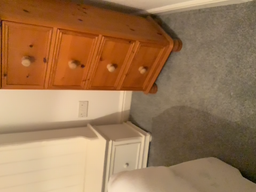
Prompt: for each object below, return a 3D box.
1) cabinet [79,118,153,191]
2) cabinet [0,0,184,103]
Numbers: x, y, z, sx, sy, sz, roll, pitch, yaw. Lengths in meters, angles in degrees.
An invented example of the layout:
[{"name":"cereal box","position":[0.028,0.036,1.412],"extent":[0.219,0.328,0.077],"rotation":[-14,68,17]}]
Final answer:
[{"name":"cabinet","position":[-0.140,0.720,1.910],"extent":[0.440,0.440,0.910],"rotation":[22,110,56]},{"name":"cabinet","position":[-0.280,-0.340,1.480],"extent":[0.550,1.110,0.490],"rotation":[61,138,37]}]
